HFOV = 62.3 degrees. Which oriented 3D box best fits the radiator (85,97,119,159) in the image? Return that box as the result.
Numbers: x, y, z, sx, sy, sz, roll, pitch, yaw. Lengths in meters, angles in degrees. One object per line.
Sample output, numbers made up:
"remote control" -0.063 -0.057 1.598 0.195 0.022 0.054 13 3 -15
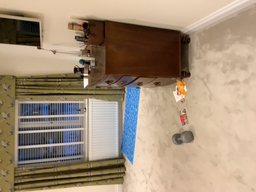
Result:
"radiator" -0.500 0.600 4.170 0.090 0.670 1.170 175 95 -68
